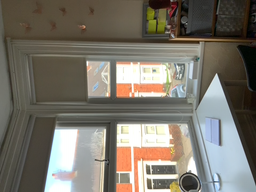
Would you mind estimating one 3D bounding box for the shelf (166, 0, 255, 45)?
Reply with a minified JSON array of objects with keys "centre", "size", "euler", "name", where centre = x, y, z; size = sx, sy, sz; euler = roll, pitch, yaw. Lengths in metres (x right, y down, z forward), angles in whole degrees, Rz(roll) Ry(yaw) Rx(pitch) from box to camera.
[{"centre":[0.920,-0.690,1.920],"size":[0.320,1.060,0.410],"euler":[-101,13,-77],"name":"shelf"}]
